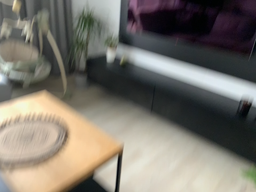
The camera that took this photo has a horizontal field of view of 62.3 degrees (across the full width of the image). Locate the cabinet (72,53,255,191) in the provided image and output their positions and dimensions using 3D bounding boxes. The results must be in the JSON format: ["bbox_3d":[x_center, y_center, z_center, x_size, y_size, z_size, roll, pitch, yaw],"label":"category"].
[{"bbox_3d":[0.240,0.060,2.170,2.200,0.460,0.370,25,32,35],"label":"cabinet"}]

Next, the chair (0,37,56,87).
[{"bbox_3d":[-1.240,-0.430,2.480,0.530,0.380,0.540,27,33,37],"label":"chair"}]
